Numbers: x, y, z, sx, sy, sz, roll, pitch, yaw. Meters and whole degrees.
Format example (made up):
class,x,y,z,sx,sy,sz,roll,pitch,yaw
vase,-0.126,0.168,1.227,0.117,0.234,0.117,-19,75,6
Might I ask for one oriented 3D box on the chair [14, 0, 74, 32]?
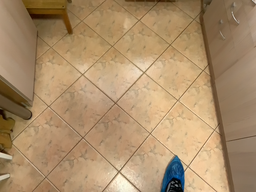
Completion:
class,x,y,z,sx,sy,sz,roll,pitch,yaw
chair,-0.520,-0.720,1.310,0.270,0.520,0.390,1,73,-5
